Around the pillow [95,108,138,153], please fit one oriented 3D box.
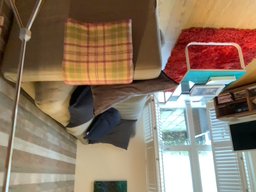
[{"bbox_3d":[-0.170,0.510,3.270,0.560,0.490,0.190,-20,-166,-34],"label":"pillow"}]
